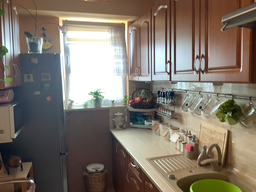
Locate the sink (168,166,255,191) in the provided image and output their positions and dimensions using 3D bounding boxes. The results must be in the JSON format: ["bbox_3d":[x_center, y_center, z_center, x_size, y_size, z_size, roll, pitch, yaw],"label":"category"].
[{"bbox_3d":[0.560,0.610,1.310,0.490,0.140,0.380,-3,6,-16],"label":"sink"}]

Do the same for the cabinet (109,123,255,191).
[{"bbox_3d":[0.310,0.930,2.040,0.600,0.910,1.920,-3,6,-16],"label":"cabinet"}]

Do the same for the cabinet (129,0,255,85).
[{"bbox_3d":[0.430,-0.500,1.930,0.290,0.720,1.970,-3,6,-16],"label":"cabinet"}]

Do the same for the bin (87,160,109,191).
[{"bbox_3d":[-0.390,1.080,2.740,0.250,0.410,0.230,-3,6,-13],"label":"bin"}]
